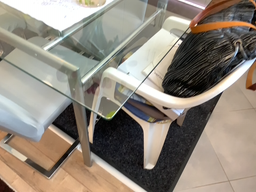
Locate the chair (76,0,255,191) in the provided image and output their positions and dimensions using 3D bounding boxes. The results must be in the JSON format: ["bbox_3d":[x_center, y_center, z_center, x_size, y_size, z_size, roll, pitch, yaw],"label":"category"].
[{"bbox_3d":[0.160,-0.020,1.030,0.510,0.810,0.510,31,53,20],"label":"chair"}]
